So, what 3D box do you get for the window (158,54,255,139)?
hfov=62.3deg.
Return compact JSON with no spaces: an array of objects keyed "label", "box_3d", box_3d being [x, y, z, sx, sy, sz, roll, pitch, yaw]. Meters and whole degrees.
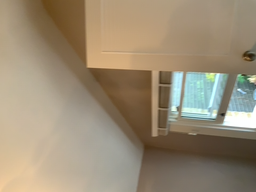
[{"label":"window","box_3d":[0.840,0.030,2.060,0.200,1.040,0.820,-74,-16,-47]}]
